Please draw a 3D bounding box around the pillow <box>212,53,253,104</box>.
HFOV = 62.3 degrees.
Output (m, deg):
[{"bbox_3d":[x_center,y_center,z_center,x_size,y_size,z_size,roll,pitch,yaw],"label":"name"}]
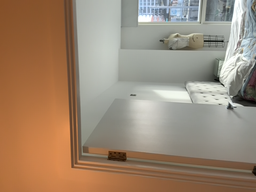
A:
[{"bbox_3d":[1.290,-0.260,2.690,0.740,0.200,0.530,-56,-32,-73],"label":"pillow"}]
